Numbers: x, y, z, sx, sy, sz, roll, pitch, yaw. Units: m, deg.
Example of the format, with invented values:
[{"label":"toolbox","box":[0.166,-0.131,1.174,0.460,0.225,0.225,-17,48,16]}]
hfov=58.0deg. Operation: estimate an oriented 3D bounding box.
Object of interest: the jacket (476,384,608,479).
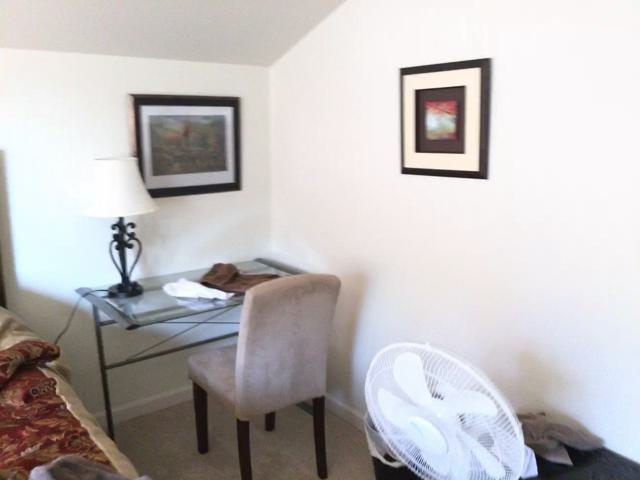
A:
[{"label":"jacket","box":[0.720,0.620,1.890,0.270,0.120,0.290,-9,17,-34]}]
